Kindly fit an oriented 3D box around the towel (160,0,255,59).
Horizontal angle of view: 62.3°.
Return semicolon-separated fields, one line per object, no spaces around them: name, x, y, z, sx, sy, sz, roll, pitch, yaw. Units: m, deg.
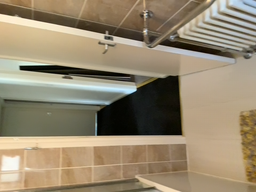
towel;0.630;-0.390;1.180;0.560;0.700;0.120;164;108;-65
